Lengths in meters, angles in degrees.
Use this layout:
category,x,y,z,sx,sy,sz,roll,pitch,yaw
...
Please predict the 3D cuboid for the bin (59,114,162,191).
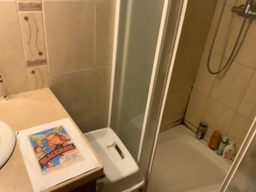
category,x,y,z,sx,sy,sz,roll,pitch,yaw
bin,-0.140,0.520,1.320,0.390,0.580,0.470,-14,36,-32
